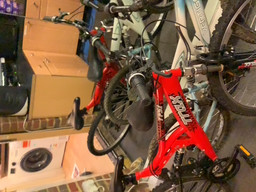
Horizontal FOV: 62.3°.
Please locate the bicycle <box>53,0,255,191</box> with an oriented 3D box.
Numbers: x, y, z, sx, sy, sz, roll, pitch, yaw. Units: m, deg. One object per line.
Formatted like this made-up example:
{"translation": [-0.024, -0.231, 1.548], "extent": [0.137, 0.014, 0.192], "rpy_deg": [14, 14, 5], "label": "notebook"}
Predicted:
{"translation": [0.240, 0.190, 1.140], "extent": [0.650, 0.950, 1.750], "rpy_deg": [40, 123, 46], "label": "bicycle"}
